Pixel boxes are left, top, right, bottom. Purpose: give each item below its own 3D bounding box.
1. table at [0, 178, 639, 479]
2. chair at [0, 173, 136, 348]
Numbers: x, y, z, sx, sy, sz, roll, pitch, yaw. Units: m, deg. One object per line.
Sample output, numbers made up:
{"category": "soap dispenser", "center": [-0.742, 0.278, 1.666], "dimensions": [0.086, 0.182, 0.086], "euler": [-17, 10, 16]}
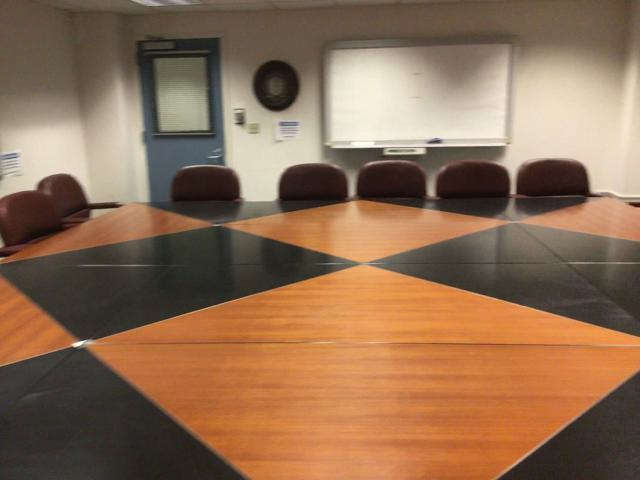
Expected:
{"category": "table", "center": [0.230, 0.110, 2.580], "dimensions": [3.680, 0.250, 3.590], "euler": [2, 13, 5]}
{"category": "chair", "center": [-1.580, 0.090, 3.530], "dimensions": [0.630, 0.920, 0.610], "euler": [2, 13, 5]}
